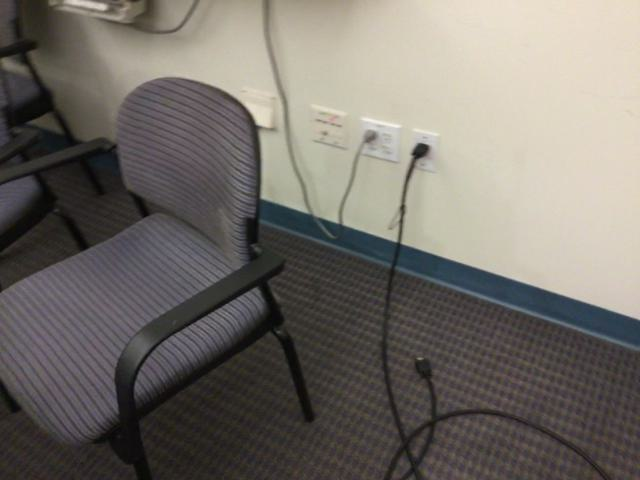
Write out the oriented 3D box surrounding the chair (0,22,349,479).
[{"bbox_3d":[-0.380,0.020,1.220,0.570,0.660,0.630,29,46,28],"label":"chair"}]
